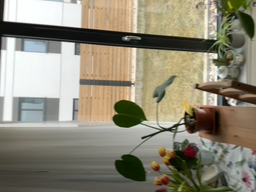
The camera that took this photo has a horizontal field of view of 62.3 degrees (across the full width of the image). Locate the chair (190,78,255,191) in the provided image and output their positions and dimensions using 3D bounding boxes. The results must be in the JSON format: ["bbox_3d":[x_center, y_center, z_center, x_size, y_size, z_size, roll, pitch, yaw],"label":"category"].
[{"bbox_3d":[0.860,0.200,1.180,0.440,0.880,0.510,172,100,-78],"label":"chair"}]
